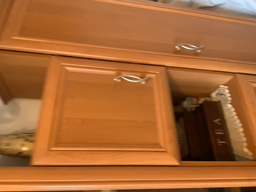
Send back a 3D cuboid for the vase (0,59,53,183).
[{"bbox_3d":[-0.650,0.100,0.810,0.300,0.620,0.410,116,155,-59],"label":"vase"}]
